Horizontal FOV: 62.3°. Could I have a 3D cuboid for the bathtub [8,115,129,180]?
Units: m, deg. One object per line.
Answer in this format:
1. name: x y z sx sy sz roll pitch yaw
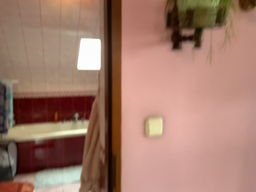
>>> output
1. bathtub: -0.960 0.800 3.670 1.800 0.660 0.790 -2 8 -20
